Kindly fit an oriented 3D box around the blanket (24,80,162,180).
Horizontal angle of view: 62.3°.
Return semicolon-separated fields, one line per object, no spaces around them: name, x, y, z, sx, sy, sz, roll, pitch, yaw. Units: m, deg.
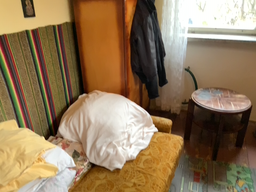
blanket;-0.270;0.220;1.990;0.970;0.360;0.780;10;27;22

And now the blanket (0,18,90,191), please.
blanket;-0.800;-0.040;1.850;0.150;1.090;1.370;9;27;20

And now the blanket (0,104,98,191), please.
blanket;-0.720;0.480;1.280;0.750;0.440;0.790;10;27;21

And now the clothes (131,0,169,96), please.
clothes;0.250;-0.590;2.420;0.220;1.020;0.580;11;27;22
